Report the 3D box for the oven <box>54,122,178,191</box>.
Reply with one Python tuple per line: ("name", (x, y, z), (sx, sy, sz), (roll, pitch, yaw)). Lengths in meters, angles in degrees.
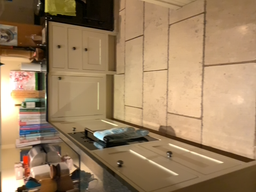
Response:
("oven", (-0.130, 0.630, 1.910), (0.670, 0.890, 0.620), (8, 97, 58))
